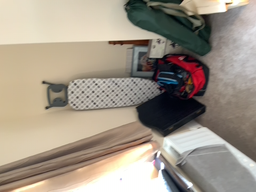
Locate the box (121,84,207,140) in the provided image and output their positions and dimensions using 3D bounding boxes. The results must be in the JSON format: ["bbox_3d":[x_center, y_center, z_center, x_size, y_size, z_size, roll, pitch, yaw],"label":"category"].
[{"bbox_3d":[0.340,0.120,2.170,0.620,0.600,0.240,34,129,55],"label":"box"}]

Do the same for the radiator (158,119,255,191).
[{"bbox_3d":[0.740,0.530,1.500,0.950,0.590,0.150,42,135,51],"label":"radiator"}]
